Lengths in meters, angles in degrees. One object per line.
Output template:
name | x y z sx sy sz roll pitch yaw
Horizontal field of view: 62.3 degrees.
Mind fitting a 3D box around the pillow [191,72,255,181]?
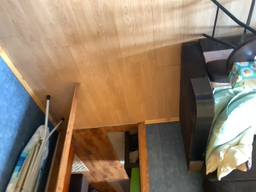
pillow | 0.750 0.270 1.550 0.430 0.400 0.810 -6 140 6

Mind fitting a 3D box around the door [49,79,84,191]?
door | -0.570 0.910 1.540 0.070 2.140 0.790 14 138 -16
